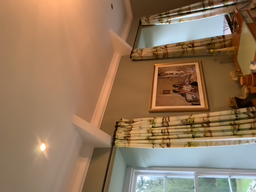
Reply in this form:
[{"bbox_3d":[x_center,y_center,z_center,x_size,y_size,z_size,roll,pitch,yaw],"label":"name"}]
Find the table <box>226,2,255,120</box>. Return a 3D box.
[{"bbox_3d":[1.770,-0.510,2.610,1.420,0.740,0.750,-79,-20,-44],"label":"table"}]
